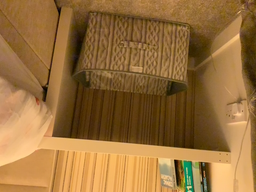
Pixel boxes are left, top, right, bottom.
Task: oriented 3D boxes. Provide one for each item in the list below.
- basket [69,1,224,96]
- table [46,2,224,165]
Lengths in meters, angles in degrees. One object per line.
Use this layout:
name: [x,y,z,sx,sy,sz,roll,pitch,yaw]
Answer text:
basket: [0.080,-0.210,1.150,0.700,0.270,0.400,7,169,-7]
table: [0.050,-0.030,1.130,0.750,0.660,0.380,7,169,-6]
